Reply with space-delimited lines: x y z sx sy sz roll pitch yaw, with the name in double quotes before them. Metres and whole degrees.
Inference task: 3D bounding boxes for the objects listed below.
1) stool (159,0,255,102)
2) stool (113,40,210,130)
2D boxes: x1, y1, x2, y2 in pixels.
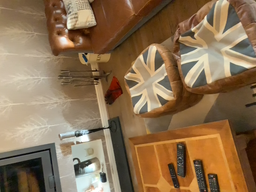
"stool" 0.570 -0.270 1.290 0.530 0.400 0.470 -25 75 49
"stool" 0.240 -0.070 1.710 0.520 0.400 0.480 -37 65 46
